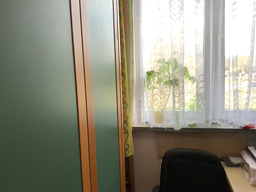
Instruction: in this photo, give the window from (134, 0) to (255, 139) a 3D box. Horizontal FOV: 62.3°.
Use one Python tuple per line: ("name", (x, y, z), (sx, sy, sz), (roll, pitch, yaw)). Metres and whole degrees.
("window", (0.630, -0.450, 1.620), (1.140, 1.550, 0.170), (-1, 8, 9))
